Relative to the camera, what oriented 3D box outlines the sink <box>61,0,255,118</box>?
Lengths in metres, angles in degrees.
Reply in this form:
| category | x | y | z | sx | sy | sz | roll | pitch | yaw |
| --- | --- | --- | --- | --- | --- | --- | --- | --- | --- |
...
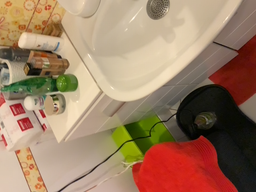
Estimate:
| category | x | y | z | sx | sy | sz | roll | pitch | yaw |
| --- | --- | --- | --- | --- | --- | --- | --- | --- | --- |
| sink | 0.050 | -0.240 | 0.580 | 0.490 | 0.120 | 0.380 | -45 | 67 | 32 |
